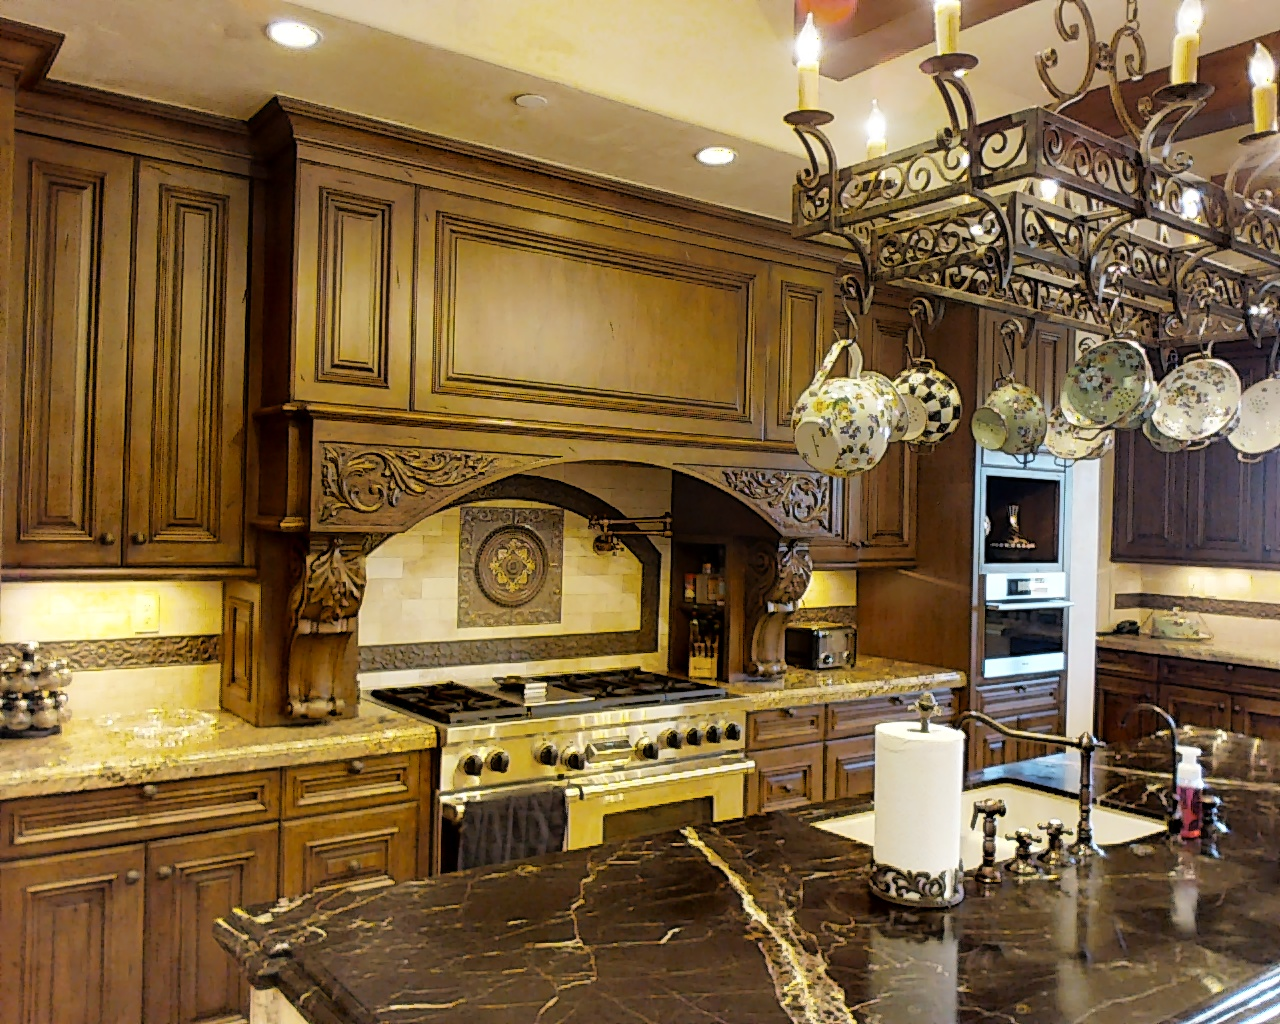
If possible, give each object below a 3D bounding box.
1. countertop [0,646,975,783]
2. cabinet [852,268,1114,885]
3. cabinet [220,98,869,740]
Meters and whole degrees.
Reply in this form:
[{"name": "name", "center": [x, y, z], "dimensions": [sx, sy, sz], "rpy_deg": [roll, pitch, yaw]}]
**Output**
[{"name": "countertop", "center": [-0.220, 0.640, 3.850], "dimensions": [3.640, 0.060, 0.690], "rpy_deg": [2, 0, -36]}, {"name": "cabinet", "center": [1.640, 0.280, 5.140], "dimensions": [0.850, 2.640, 0.770], "rpy_deg": [2, 0, -36]}, {"name": "cabinet", "center": [-0.230, -0.230, 3.820], "dimensions": [2.210, 1.730, 0.700], "rpy_deg": [2, 0, -36]}]
